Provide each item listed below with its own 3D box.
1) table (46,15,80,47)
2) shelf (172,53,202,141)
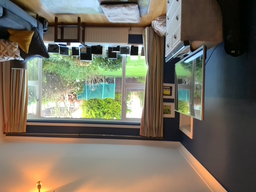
[{"bbox_3d":[-1.190,-1.200,3.950,0.490,0.460,0.390,2,-179,3],"label":"table"},{"bbox_3d":[1.050,0.010,3.850,0.290,1.440,0.760,2,-179,1],"label":"shelf"}]
